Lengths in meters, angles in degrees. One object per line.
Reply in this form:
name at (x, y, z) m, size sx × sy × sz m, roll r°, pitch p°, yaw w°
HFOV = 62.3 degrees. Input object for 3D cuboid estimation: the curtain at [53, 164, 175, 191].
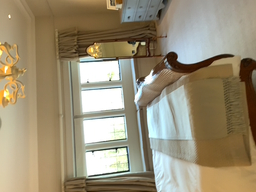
curtain at (-0.250, 1.830, 4.250) m, size 0.370 × 2.320 × 0.580 m, roll 124°, pitch 141°, yaw -78°
